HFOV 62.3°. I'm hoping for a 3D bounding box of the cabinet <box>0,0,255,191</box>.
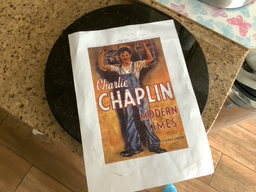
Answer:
[{"bbox_3d":[-0.750,-0.620,1.020,2.510,0.900,0.720,32,74,7],"label":"cabinet"}]
